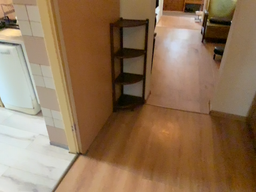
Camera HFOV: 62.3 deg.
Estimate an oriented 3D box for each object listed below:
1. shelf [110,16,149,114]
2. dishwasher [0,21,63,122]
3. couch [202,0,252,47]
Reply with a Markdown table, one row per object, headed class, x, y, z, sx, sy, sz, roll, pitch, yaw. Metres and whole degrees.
| class | x | y | z | sx | sy | sz | roll | pitch | yaw |
| --- | --- | --- | --- | --- | --- | --- | --- | --- | --- |
| shelf | 0.020 | -0.310 | 2.290 | 0.290 | 0.970 | 0.300 | 11 | 34 | 16 |
| dishwasher | -1.280 | -0.310 | 2.440 | 0.630 | 0.860 | 0.680 | 10 | 34 | 15 |
| couch | 2.160 | -1.770 | 4.800 | 0.740 | 0.940 | 0.950 | 10 | 34 | 14 |
